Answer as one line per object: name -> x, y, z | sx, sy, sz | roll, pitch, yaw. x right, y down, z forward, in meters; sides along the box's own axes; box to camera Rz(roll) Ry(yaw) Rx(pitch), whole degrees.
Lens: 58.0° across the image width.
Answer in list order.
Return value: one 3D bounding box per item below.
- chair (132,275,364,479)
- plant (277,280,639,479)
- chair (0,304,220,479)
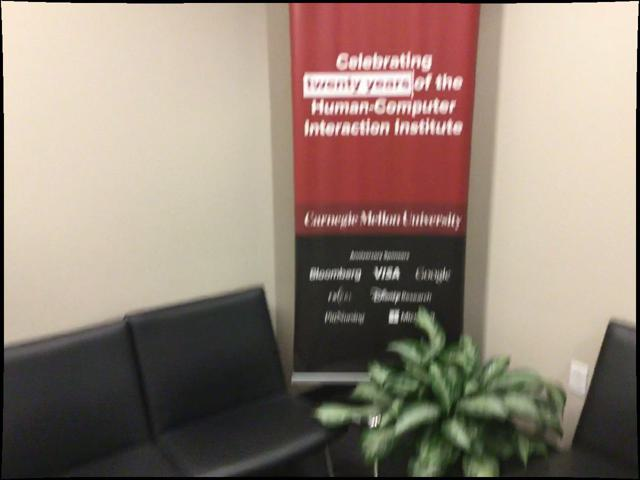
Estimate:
chair -> -0.279, 0.621, 2.190 | 0.549, 0.681, 0.730 | -14, 23, -32
plant -> 0.469, 0.672, 2.020 | 0.919, 0.641, 0.809 | -14, 23, -32
chair -> -0.758, 0.692, 1.850 | 0.629, 0.631, 0.680 | -14, 23, -32
